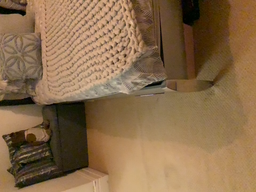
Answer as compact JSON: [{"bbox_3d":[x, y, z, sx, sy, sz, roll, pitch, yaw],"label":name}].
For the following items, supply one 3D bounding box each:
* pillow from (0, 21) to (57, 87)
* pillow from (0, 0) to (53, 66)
[{"bbox_3d":[-0.960,-0.370,1.940,0.170,0.420,0.380,-3,50,56],"label":"pillow"},{"bbox_3d":[-1.070,-0.610,2.030,0.210,0.480,0.410,-3,55,55],"label":"pillow"}]
